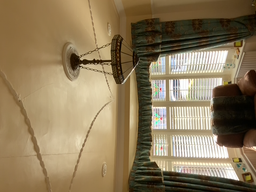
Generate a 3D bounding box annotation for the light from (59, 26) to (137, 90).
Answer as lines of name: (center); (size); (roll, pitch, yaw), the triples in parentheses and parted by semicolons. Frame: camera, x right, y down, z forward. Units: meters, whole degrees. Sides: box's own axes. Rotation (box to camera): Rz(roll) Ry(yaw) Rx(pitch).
light: (-0.220, -0.310, 1.780); (0.520, 0.330, 0.400); (5, -103, 11)
